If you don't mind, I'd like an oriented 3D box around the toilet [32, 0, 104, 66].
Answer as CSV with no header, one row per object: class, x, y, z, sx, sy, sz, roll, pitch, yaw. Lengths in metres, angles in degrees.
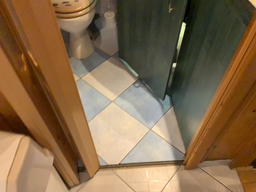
toilet,-0.400,-0.760,1.580,0.380,0.780,0.690,-3,52,-3
